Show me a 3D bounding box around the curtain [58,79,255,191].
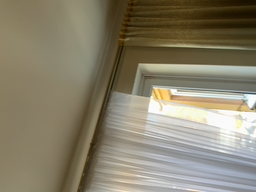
[{"bbox_3d":[0.580,0.480,1.460,0.320,2.030,1.040,57,-137,-61],"label":"curtain"}]

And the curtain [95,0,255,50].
[{"bbox_3d":[1.110,-0.760,1.760,0.200,2.770,0.770,60,-140,-60],"label":"curtain"}]
